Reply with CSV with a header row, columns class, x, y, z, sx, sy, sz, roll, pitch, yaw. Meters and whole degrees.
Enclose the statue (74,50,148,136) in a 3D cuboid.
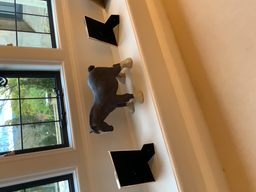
class,x,y,z,sx,sy,sz,roll,pitch,yaw
statue,-0.130,-0.020,1.420,0.250,0.340,0.480,-41,57,55
